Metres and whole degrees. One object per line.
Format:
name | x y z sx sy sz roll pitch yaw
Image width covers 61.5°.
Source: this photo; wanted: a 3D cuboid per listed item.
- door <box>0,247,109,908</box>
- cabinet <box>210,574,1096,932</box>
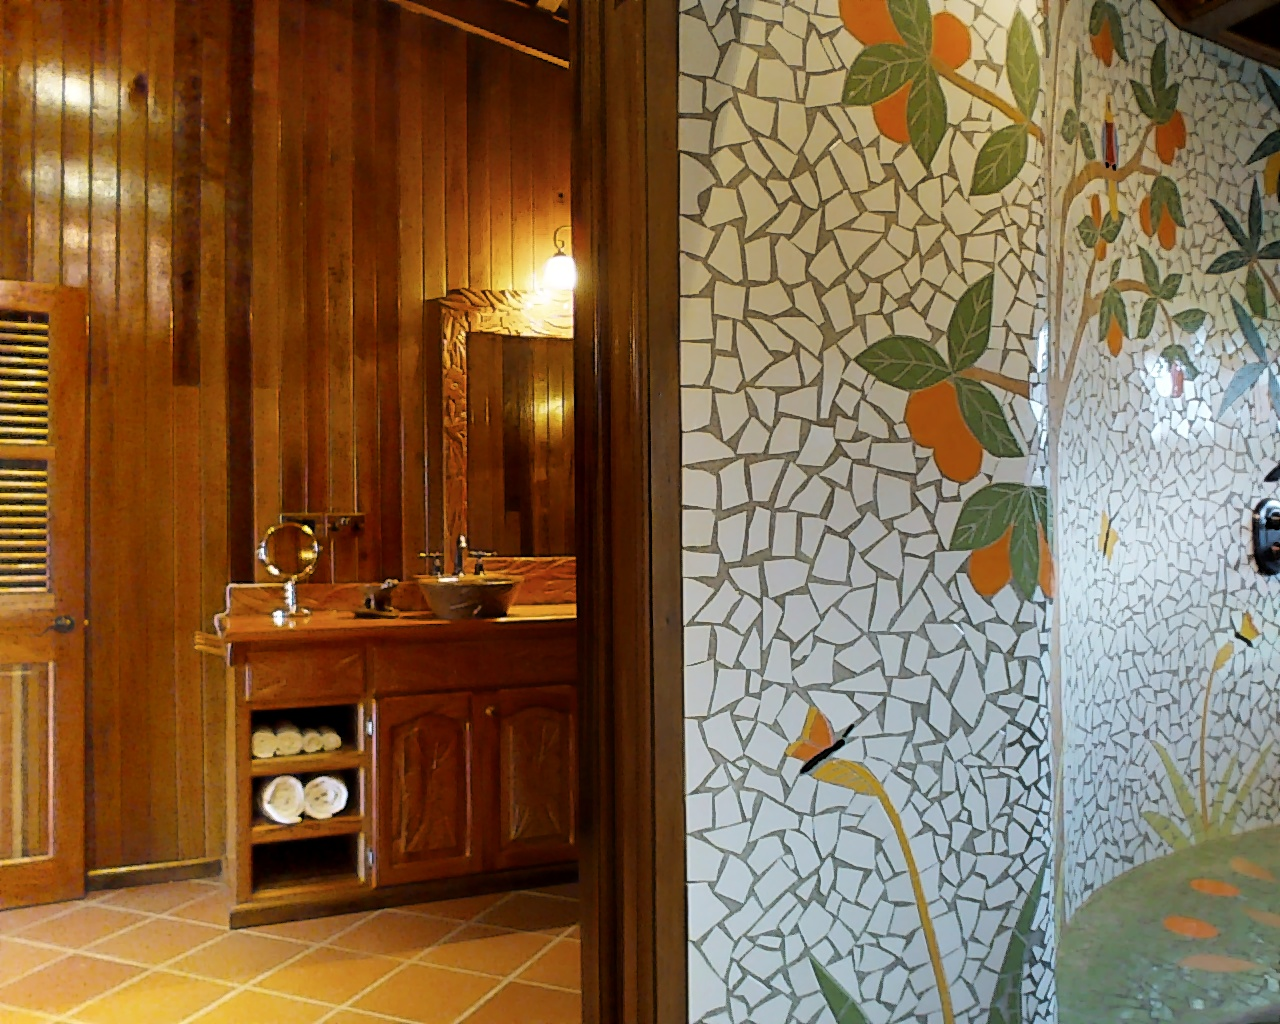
door | -2.230 0.210 3.410 0.960 2.120 0.090 0 0 -28
cabinet | 0.210 0.790 4.240 3.520 0.960 0.620 -1 0 -22
